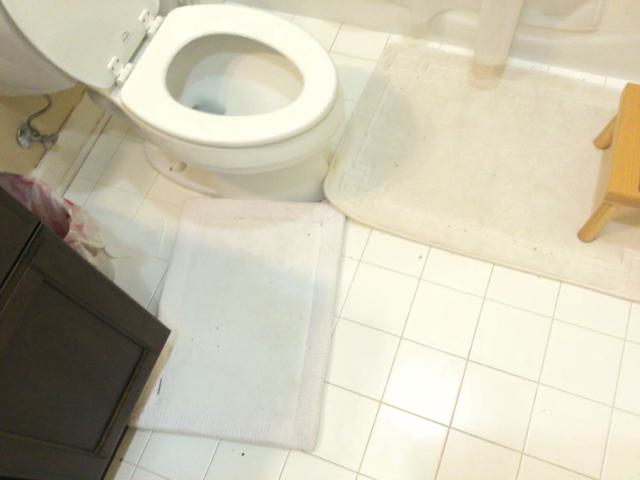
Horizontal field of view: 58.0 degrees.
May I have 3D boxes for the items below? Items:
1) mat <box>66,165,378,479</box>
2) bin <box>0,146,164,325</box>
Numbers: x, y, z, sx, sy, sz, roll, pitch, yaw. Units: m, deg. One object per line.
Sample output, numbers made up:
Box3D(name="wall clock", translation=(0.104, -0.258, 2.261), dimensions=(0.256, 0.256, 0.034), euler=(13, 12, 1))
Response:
Box3D(name="mat", translation=(-0.200, 0.160, 1.340), dimensions=(0.560, 0.060, 0.670), euler=(8, 67, 11))
Box3D(name="bin", translation=(-0.620, -0.010, 1.330), dimensions=(0.350, 0.320, 0.230), euler=(17, 69, 14))
